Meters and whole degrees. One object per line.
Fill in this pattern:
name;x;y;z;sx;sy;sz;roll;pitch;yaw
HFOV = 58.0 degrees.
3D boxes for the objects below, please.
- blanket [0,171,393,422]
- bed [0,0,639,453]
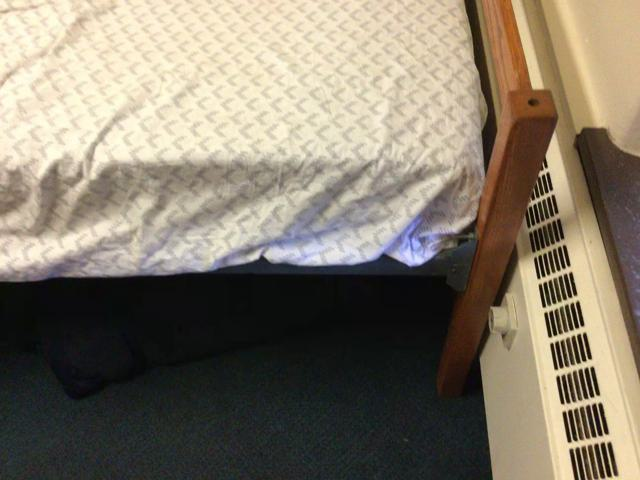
blanket;-0.320;0.120;1.500;0.990;0.210;0.590;2;52;3
bed;-0.690;-0.230;1.370;2.200;0.900;1.050;2;52;3
